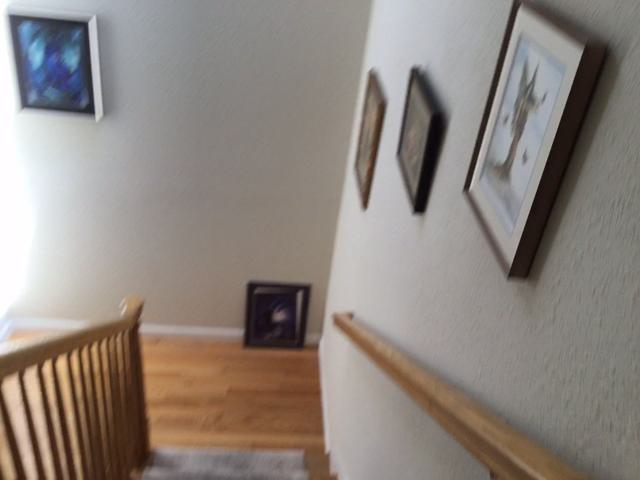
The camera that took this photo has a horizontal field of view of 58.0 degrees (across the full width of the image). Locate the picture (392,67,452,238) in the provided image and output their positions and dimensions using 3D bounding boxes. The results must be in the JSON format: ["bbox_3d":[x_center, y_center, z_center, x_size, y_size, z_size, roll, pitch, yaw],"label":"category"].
[{"bbox_3d":[0.290,-0.270,1.720,0.070,0.350,0.410,-3,36,-2],"label":"picture"}]

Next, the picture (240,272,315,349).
[{"bbox_3d":[-0.270,0.470,3.800,0.450,0.550,0.090,4,36,7],"label":"picture"}]

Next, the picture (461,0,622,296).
[{"bbox_3d":[0.340,-0.170,0.980,0.070,0.400,0.340,-3,36,-2],"label":"picture"}]

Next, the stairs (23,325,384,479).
[{"bbox_3d":[-0.360,1.040,2.110,1.130,0.840,1.120,-3,36,-1],"label":"stairs"}]
